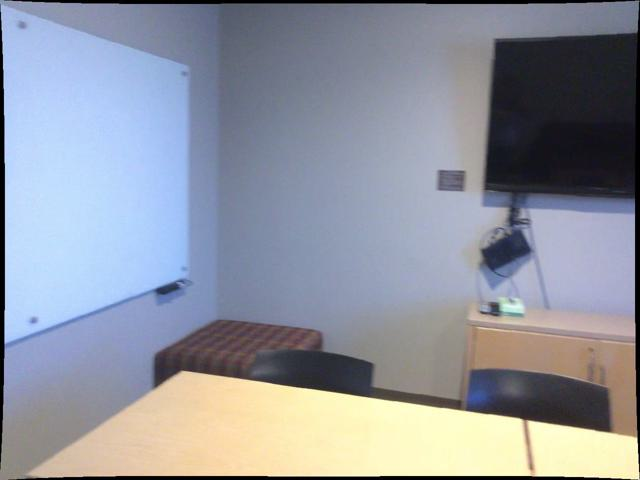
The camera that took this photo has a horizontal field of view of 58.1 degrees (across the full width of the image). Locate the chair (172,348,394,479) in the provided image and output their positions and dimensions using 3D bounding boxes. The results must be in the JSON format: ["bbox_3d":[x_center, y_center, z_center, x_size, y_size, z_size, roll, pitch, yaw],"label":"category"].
[{"bbox_3d":[-0.100,0.681,1.970,0.599,0.401,0.520,4,9,17],"label":"chair"}]

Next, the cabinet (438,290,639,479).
[{"bbox_3d":[1.298,0.751,2.940,1.268,0.771,0.550,4,9,17],"label":"cabinet"}]

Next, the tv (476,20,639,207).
[{"bbox_3d":[1.527,-0.621,2.910,1.368,0.881,0.250,4,9,17],"label":"tv"}]
